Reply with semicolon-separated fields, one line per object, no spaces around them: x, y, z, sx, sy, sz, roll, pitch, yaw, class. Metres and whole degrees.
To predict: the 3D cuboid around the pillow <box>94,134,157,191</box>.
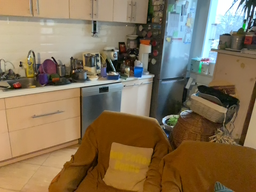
-0.030;0.590;1.800;0.390;0.380;0.120;-34;-16;15;pillow

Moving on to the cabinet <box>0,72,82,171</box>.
-1.400;0.280;2.400;1.590;0.850;0.620;-11;24;-36;cabinet

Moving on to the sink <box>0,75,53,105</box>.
-1.190;-0.090;2.440;0.490;0.150;0.460;-11;24;-36;sink
